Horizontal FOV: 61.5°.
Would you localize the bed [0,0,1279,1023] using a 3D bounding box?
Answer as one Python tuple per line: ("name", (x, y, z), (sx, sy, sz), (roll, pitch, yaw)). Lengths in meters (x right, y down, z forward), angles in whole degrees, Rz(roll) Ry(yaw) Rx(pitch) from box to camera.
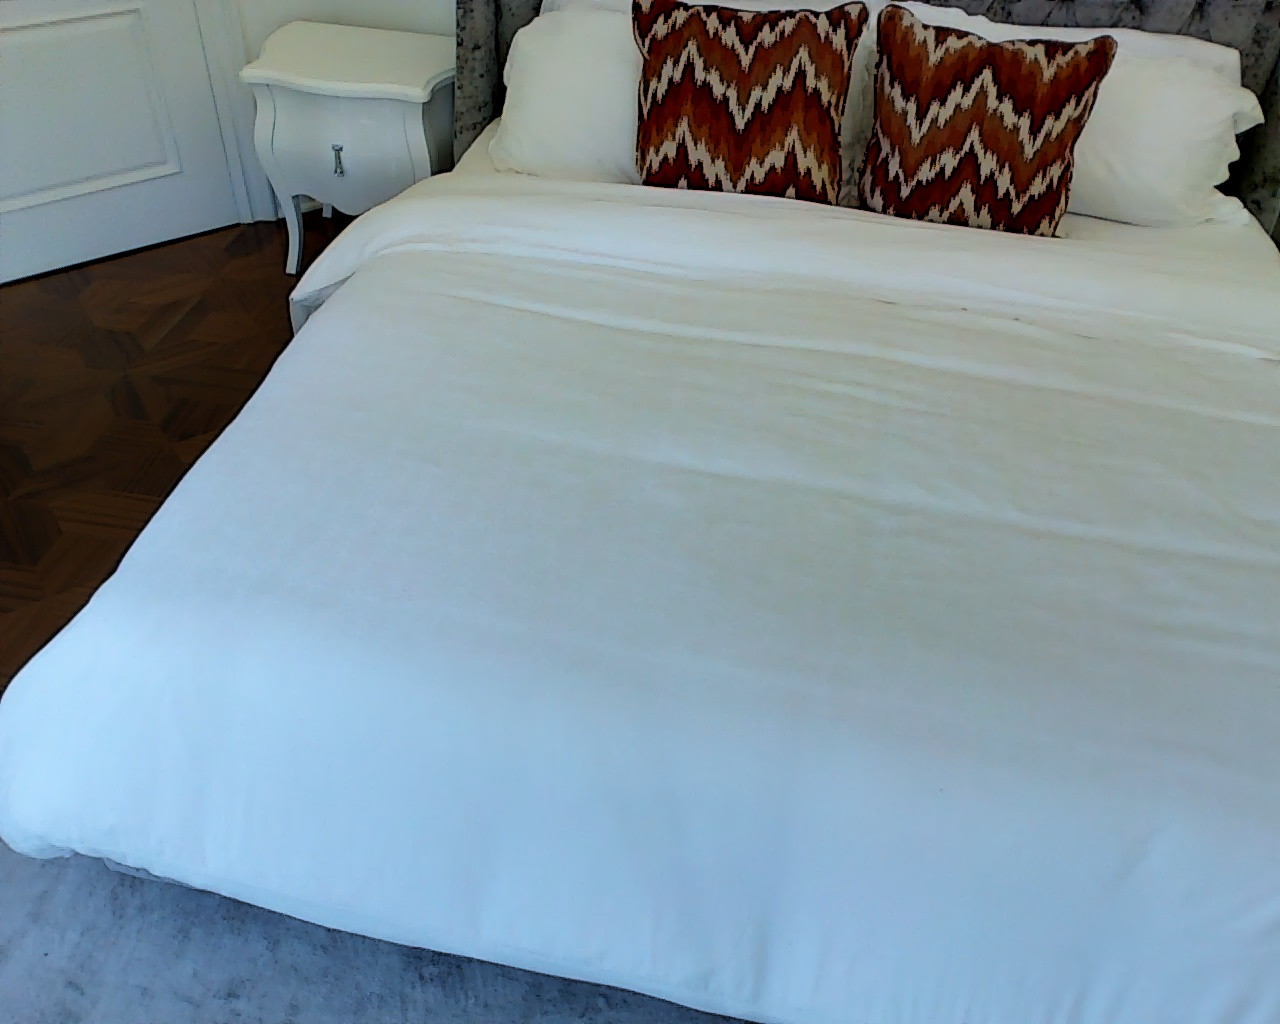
("bed", (0.410, -0.440, 1.980), (2.420, 1.300, 2.470), (9, 41, 8))
